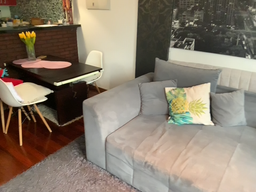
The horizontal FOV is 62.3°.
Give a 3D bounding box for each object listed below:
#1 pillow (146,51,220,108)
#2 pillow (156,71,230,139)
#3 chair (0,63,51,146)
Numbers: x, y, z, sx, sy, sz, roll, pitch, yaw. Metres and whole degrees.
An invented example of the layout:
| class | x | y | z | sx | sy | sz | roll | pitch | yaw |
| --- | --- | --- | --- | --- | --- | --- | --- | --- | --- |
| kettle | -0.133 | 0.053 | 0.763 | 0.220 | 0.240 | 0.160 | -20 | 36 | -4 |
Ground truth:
| class | x | y | z | sx | sy | sz | roll | pitch | yaw |
| --- | --- | --- | --- | --- | --- | --- | --- | --- | --- |
| pillow | 0.570 | -0.190 | 2.280 | 0.630 | 0.370 | 0.330 | 19 | 21 | 7 |
| pillow | 0.620 | 0.080 | 2.090 | 0.530 | 0.430 | 0.190 | 32 | 6 | 7 |
| chair | -1.290 | 0.070 | 2.480 | 0.420 | 0.770 | 0.500 | 17 | 27 | 32 |
